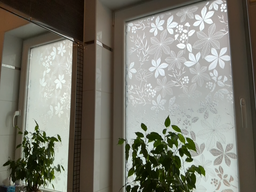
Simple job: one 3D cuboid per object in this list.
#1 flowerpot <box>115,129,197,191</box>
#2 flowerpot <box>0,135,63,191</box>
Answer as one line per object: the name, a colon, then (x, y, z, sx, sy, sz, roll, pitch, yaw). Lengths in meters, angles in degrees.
flowerpot: (0.150, 0.470, 1.120, 0.370, 0.580, 0.230, -4, -9, 29)
flowerpot: (-0.760, 0.580, 1.650, 0.470, 0.530, 0.190, -4, -9, 30)
